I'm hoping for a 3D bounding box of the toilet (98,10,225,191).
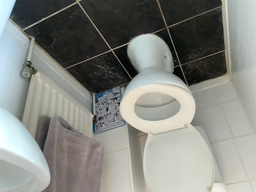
[{"bbox_3d":[0.190,0.140,1.160,0.400,0.840,0.690,-18,145,17],"label":"toilet"}]
